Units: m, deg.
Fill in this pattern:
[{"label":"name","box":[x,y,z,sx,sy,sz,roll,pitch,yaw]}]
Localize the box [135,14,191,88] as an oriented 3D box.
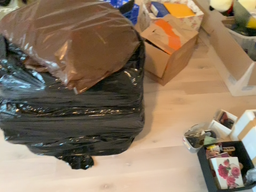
[{"label":"box","box":[0.290,-0.400,1.860,0.380,0.370,0.500,7,50,2]}]
